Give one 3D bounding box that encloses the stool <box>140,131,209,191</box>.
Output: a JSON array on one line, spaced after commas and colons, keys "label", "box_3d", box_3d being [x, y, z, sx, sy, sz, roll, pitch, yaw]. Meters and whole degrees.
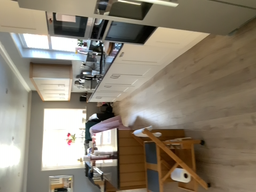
[{"label": "stool", "box_3d": [0.470, 0.680, 2.290, 0.420, 0.540, 0.560, 142, 127, -68]}]
